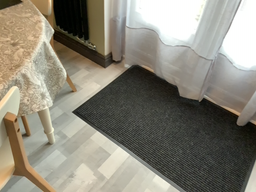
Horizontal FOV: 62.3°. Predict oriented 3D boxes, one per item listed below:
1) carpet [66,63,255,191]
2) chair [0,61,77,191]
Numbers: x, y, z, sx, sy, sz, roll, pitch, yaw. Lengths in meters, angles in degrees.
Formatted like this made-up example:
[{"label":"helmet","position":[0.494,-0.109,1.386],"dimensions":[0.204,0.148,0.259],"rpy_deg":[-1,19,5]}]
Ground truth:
[{"label":"carpet","position":[0.270,0.210,1.550],"dimensions":[1.250,0.040,0.770],"rpy_deg":[32,51,23]},{"label":"chair","position":[-0.570,0.280,0.800],"dimensions":[0.560,0.790,0.450],"rpy_deg":[33,51,24]}]
